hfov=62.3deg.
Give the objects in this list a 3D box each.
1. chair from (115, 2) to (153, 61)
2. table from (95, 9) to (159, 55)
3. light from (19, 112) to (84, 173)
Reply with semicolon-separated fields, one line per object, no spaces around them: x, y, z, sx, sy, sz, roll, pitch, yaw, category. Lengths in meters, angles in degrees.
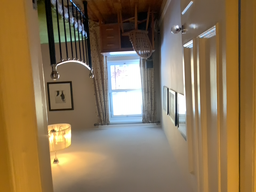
0.100;-1.120;3.840;0.400;0.910;0.540;-7;-172;-36;chair
-0.010;-1.250;4.270;1.170;0.730;0.640;-2;-173;2;table
-1.090;0.650;3.160;0.580;0.510;0.670;-23;-173;1;light
